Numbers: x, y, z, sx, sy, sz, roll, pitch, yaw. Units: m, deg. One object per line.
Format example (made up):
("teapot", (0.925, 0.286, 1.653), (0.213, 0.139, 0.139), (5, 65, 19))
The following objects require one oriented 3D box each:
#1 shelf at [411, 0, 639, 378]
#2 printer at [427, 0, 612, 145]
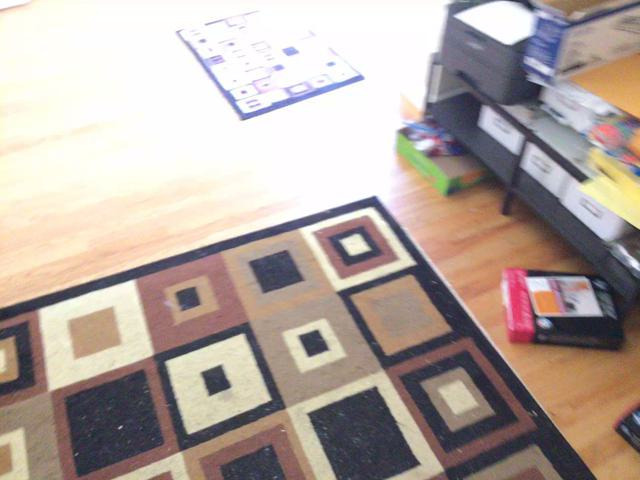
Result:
("shelf", (0.780, -0.310, 1.590), (0.450, 0.650, 1.190), (-16, 48, -16))
("printer", (0.580, -0.570, 1.770), (0.310, 0.350, 0.360), (-16, 48, -16))
